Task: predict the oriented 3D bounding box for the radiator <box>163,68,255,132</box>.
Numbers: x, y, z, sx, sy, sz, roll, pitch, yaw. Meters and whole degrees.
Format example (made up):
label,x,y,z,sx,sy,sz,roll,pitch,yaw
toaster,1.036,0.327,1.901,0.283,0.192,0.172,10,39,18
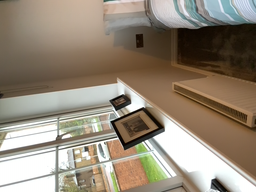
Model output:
label,x,y,z,sx,sy,sz,roll,pitch,yaw
radiator,0.680,-0.040,1.390,0.900,0.540,0.100,-140,44,-67
